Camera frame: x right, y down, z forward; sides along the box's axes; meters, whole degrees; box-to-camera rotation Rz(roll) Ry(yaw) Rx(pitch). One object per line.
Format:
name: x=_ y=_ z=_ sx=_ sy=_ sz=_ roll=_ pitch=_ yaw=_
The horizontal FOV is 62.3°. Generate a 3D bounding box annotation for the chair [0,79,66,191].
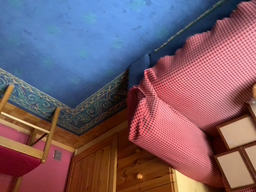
chair: x=-0.880 y=0.420 z=1.540 sx=0.460 sy=0.840 sz=0.530 roll=33 pitch=129 yaw=-30
